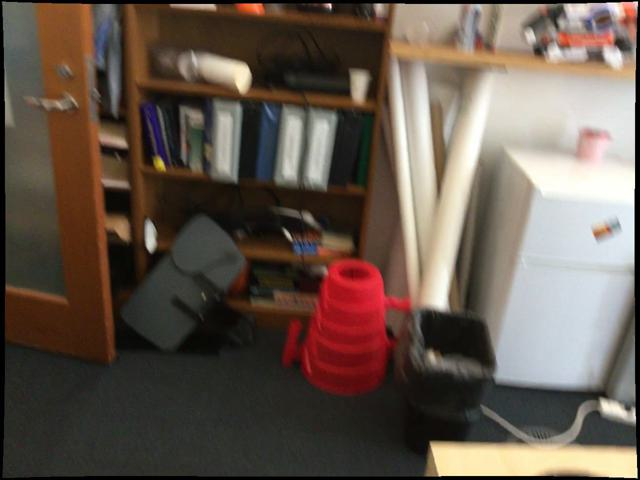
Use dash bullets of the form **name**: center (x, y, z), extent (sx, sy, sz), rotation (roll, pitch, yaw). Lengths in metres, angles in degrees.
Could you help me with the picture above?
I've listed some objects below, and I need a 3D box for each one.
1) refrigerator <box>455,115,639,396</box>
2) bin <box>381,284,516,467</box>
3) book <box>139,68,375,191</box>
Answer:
- **refrigerator**: center (0.949, 0.050, 2.280), extent (0.549, 0.891, 0.590), rotation (5, 28, -2)
- **bin**: center (0.400, 0.440, 1.940), extent (0.300, 0.390, 0.430), rotation (5, 28, -2)
- **book**: center (-0.230, -0.440, 2.260), extent (0.829, 0.300, 0.370), rotation (5, 28, -2)
